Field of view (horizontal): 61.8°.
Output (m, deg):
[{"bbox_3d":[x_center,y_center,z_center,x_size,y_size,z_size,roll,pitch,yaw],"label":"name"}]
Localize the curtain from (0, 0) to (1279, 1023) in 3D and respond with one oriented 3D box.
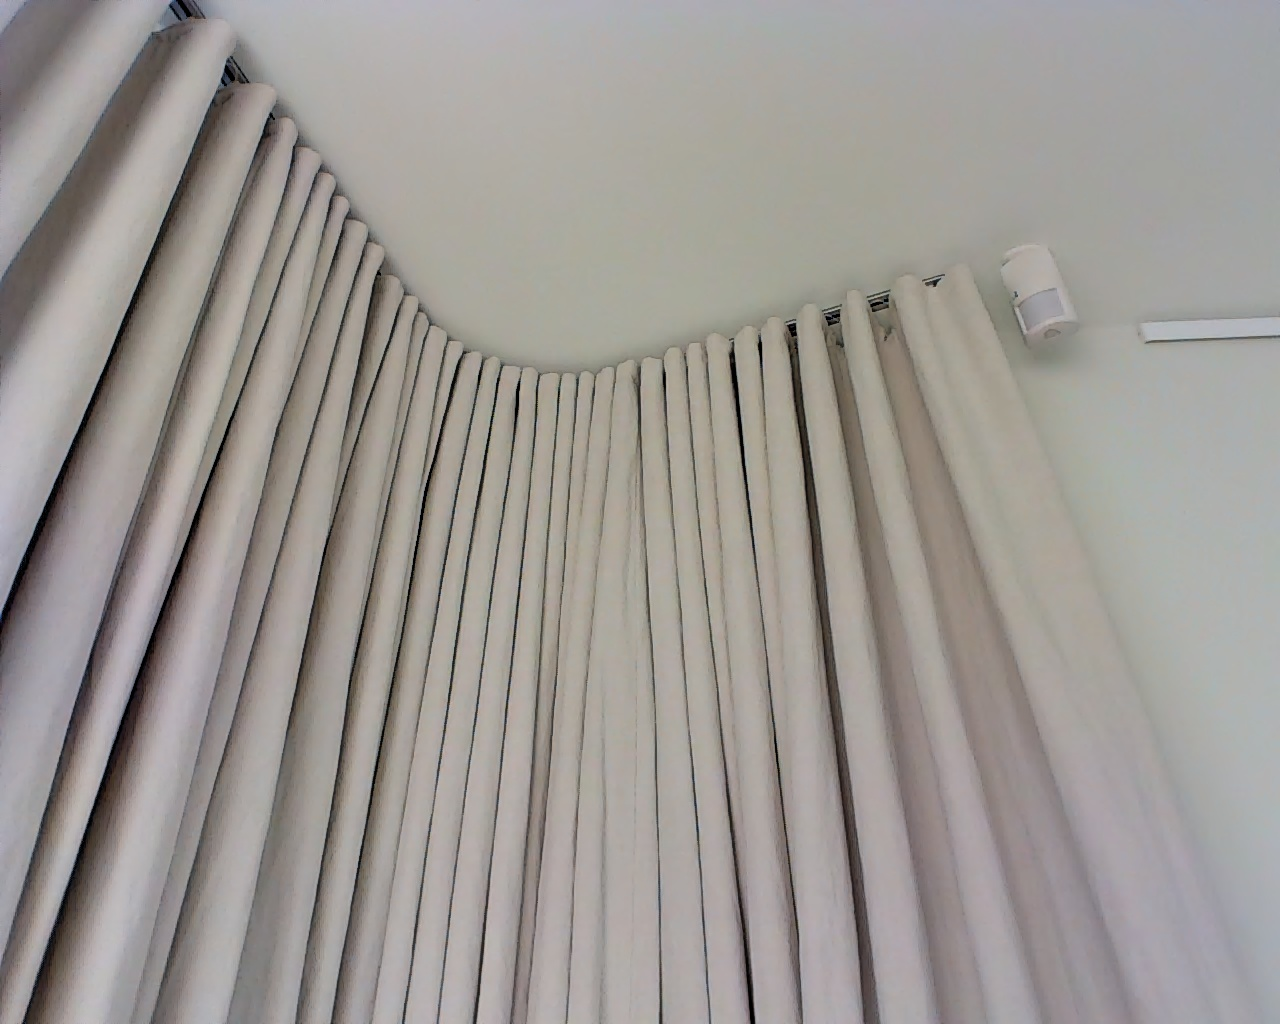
[{"bbox_3d":[-0.040,0.420,0.250,0.910,2.671,1.340,-16,-44,17],"label":"curtain"}]
